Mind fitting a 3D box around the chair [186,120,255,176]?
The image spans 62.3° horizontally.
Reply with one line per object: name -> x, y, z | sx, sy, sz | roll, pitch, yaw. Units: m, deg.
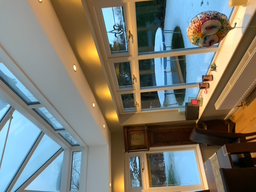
chair -> 1.330, 0.680, 2.770 | 0.380, 0.950, 0.560 | 83, -178, -60

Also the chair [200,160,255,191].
chair -> 1.330, 0.900, 2.160 | 0.590, 0.960, 0.380 | 82, -176, -61
